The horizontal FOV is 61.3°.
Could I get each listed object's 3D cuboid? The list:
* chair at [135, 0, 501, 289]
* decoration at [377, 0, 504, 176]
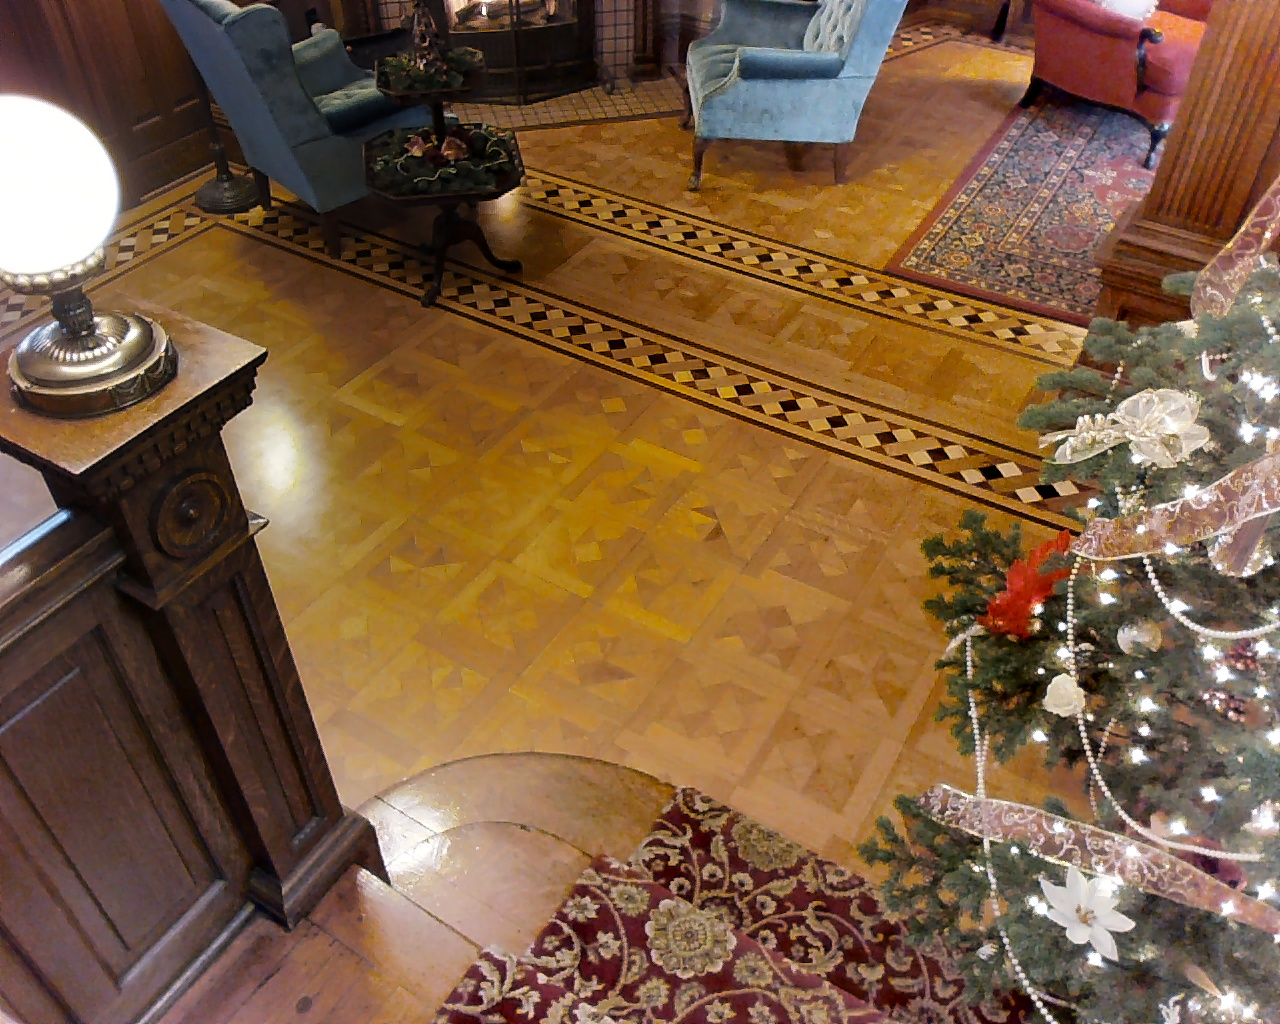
[{"bbox_3d":[-1.180,-1.610,4.080,0.940,1.020,0.770,-34,53,-31],"label":"chair"},{"bbox_3d":[-0.660,-1.420,3.590,0.340,0.450,0.330,-8,44,-8],"label":"decoration"}]
